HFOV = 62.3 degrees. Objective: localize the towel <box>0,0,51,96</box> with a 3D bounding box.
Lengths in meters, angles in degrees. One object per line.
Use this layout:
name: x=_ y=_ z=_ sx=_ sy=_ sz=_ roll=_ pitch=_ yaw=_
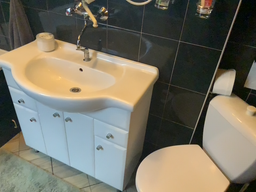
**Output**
towel: x=-0.730 y=-0.370 z=1.410 sx=0.300 sy=0.740 sz=0.130 roll=16 pitch=38 yaw=14
